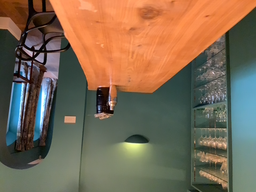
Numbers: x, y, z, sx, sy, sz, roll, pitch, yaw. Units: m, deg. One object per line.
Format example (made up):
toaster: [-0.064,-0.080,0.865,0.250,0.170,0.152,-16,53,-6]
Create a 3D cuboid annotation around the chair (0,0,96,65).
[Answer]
chair: [-0.580,-0.780,1.760,0.570,0.890,0.500,3,172,-4]
